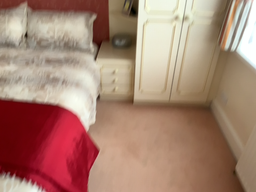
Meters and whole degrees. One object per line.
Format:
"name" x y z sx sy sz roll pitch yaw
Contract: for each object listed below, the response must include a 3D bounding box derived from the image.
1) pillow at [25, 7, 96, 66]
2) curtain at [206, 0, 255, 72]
"pillow" -0.690 -0.620 2.230 0.560 0.340 0.270 -27 16 11
"curtain" 0.860 -1.040 1.400 0.190 1.850 0.220 0 33 -3
